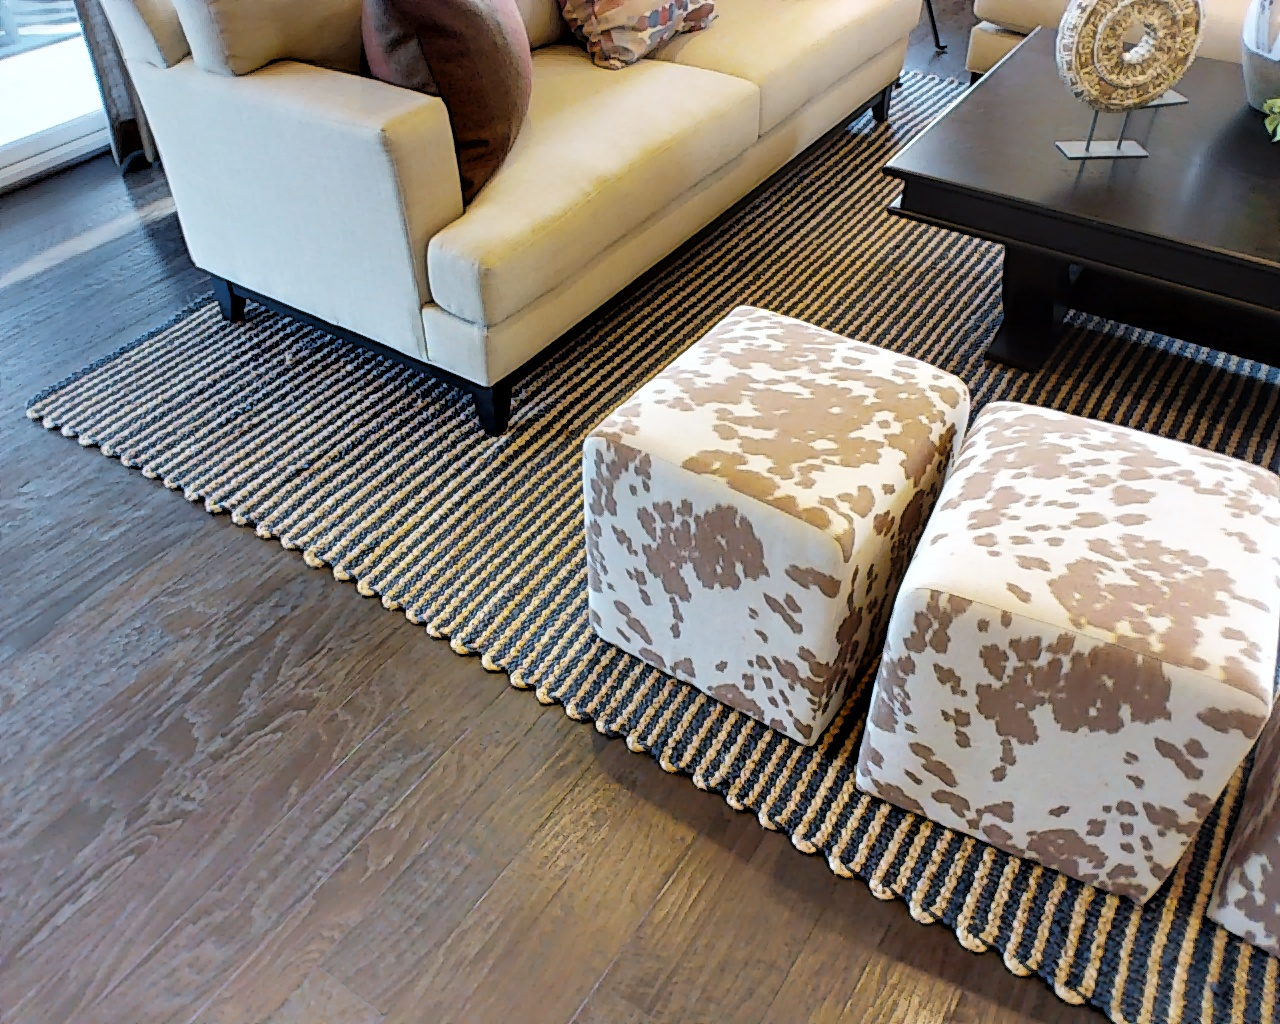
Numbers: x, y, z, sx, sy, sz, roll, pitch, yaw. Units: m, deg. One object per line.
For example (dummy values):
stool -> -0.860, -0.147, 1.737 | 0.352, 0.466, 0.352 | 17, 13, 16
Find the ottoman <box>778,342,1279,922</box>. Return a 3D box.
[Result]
ottoman -> 0.590, 0.150, 1.580 | 0.580, 0.490, 0.480 | 21, 45, 22

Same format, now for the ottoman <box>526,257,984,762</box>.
ottoman -> 0.190, -0.030, 1.790 | 0.500, 0.490, 0.540 | 23, 46, 24
